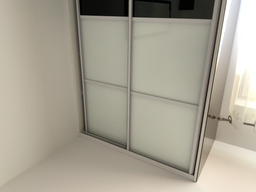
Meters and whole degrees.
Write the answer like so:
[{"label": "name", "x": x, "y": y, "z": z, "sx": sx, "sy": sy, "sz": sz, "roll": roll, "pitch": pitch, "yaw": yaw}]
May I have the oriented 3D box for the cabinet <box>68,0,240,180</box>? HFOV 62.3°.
[{"label": "cabinet", "x": 0.190, "y": -0.880, "z": 1.470, "sx": 1.080, "sy": 2.680, "sz": 0.630, "roll": 14, "pitch": -155, "yaw": 29}]
